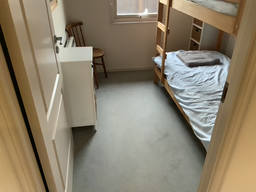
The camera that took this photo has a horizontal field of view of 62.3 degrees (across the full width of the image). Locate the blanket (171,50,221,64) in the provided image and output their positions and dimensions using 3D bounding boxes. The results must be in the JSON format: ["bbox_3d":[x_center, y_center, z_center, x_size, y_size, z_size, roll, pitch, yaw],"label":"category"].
[{"bbox_3d":[0.870,-0.510,2.750,0.510,0.030,0.380,-4,31,-8],"label":"blanket"}]

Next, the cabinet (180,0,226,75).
[{"bbox_3d":[1.120,-0.930,3.290,0.340,1.140,0.390,-4,31,-8],"label":"cabinet"}]

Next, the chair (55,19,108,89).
[{"bbox_3d":[-0.630,-0.610,3.040,0.480,0.820,0.480,11,33,17],"label":"chair"}]
